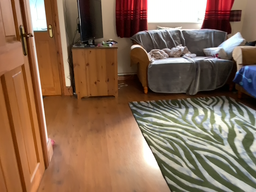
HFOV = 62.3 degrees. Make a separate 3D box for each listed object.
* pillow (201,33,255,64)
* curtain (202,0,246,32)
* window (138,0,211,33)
[{"bbox_3d":[1.690,-0.810,3.560,0.610,0.230,0.650,11,24,-14],"label":"pillow"},{"bbox_3d":[1.810,-1.950,3.890,0.630,1.480,0.290,-1,19,-6],"label":"curtain"},{"bbox_3d":[0.890,-1.920,4.030,1.360,1.390,0.180,-2,19,-6],"label":"window"}]
